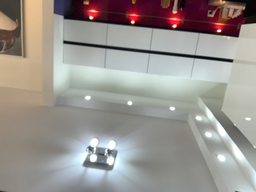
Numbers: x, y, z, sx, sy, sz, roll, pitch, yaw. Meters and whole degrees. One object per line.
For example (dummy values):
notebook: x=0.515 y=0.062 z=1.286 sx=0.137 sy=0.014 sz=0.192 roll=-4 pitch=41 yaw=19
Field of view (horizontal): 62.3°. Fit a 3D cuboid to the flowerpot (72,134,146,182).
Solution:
flowerpot: x=-0.150 y=0.550 z=1.880 sx=0.360 sy=0.590 sz=0.150 roll=86 pitch=19 yaw=-50
